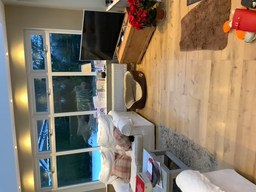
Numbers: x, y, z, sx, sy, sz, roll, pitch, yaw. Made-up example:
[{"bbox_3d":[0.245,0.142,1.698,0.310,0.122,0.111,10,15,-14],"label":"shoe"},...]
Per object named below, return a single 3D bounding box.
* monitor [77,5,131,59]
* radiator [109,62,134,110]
[{"bbox_3d":[-0.450,-1.000,3.550,1.120,0.710,0.080,119,142,-56],"label":"monitor"},{"bbox_3d":[-0.130,-0.200,4.230,0.160,0.460,0.930,-153,62,-68],"label":"radiator"}]
